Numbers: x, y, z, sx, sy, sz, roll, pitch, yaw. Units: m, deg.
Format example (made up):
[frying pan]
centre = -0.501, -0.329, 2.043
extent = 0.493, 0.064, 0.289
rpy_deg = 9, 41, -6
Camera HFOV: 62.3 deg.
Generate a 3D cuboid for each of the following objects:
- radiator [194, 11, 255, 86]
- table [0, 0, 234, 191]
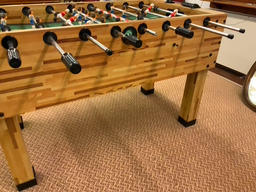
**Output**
[radiator]
centre = 1.260, -0.590, 2.500
extent = 0.160, 0.590, 1.060
rpy_deg = -12, 34, -24
[table]
centre = -0.190, -0.160, 1.460
extent = 1.330, 0.850, 0.820
rpy_deg = -13, 34, -25
